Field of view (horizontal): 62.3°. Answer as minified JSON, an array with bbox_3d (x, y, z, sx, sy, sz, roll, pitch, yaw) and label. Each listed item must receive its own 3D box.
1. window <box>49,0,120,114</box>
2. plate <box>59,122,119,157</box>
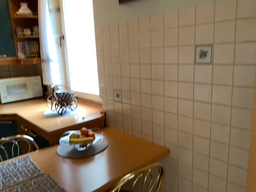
[{"bbox_3d":[-0.540,-0.710,2.380,0.150,1.640,1.130,-12,16,-40],"label":"window"},{"bbox_3d":[-0.280,0.300,1.540,0.320,0.080,0.280,-13,16,-42],"label":"plate"}]
